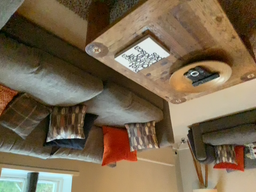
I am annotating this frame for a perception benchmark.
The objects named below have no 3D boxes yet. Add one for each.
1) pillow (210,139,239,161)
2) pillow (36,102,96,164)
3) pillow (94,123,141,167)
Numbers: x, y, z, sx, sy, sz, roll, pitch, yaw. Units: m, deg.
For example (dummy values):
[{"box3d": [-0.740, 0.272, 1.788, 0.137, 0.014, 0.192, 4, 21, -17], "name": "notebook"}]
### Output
[{"box3d": [1.620, 0.910, 3.590, 0.360, 0.260, 0.160, -16, 168, 7], "name": "pillow"}, {"box3d": [-0.640, 0.380, 2.280, 0.120, 0.460, 0.500, -23, -173, 36], "name": "pillow"}, {"box3d": [-0.130, 0.610, 2.680, 0.460, 0.440, 0.240, -1, 162, -42], "name": "pillow"}]
